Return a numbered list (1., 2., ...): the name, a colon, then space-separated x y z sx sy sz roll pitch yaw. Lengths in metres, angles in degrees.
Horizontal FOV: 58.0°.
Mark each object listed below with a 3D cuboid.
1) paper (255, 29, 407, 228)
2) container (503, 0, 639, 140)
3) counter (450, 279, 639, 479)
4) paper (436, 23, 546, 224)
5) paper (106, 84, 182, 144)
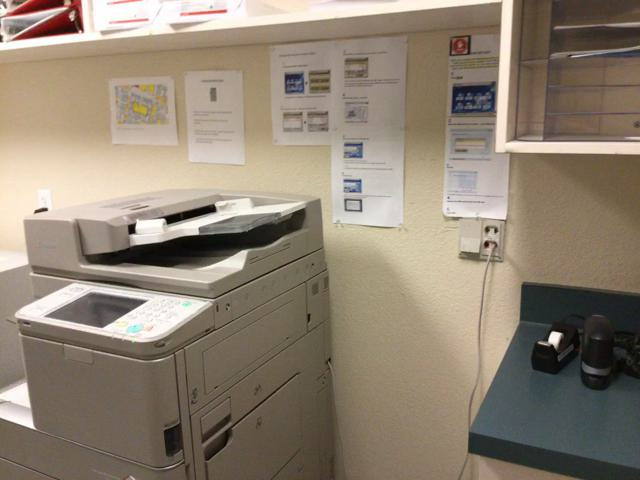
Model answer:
1. paper: 0.020 -0.300 1.620 0.440 0.510 0.050 4 8 26
2. container: 0.630 -0.380 1.150 0.450 0.340 0.310 4 8 26
3. counter: 0.820 0.280 1.000 1.040 0.230 0.610 4 8 26
4. paper: 0.420 -0.280 1.440 0.240 0.470 0.040 4 8 26
5. paper: -0.580 -0.410 1.900 0.290 0.180 0.030 4 8 26
